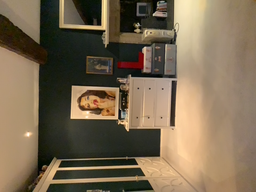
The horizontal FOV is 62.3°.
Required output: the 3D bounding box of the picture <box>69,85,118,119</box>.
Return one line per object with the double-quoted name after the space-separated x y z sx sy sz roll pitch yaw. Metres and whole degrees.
-0.710 0.130 4.400 0.020 0.980 0.690 -163 74 -80 "picture"
